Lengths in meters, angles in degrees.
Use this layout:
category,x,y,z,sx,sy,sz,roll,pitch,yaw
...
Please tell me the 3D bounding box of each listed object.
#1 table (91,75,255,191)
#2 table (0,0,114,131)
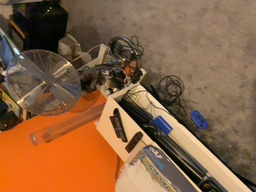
category,x,y,z,sx,sy,sz,roll,pitch,yaw
table,0.290,0.450,1.540,1.140,0.440,0.490,46,138,19
table,-0.960,-0.550,2.100,1.460,0.720,0.730,46,138,19
